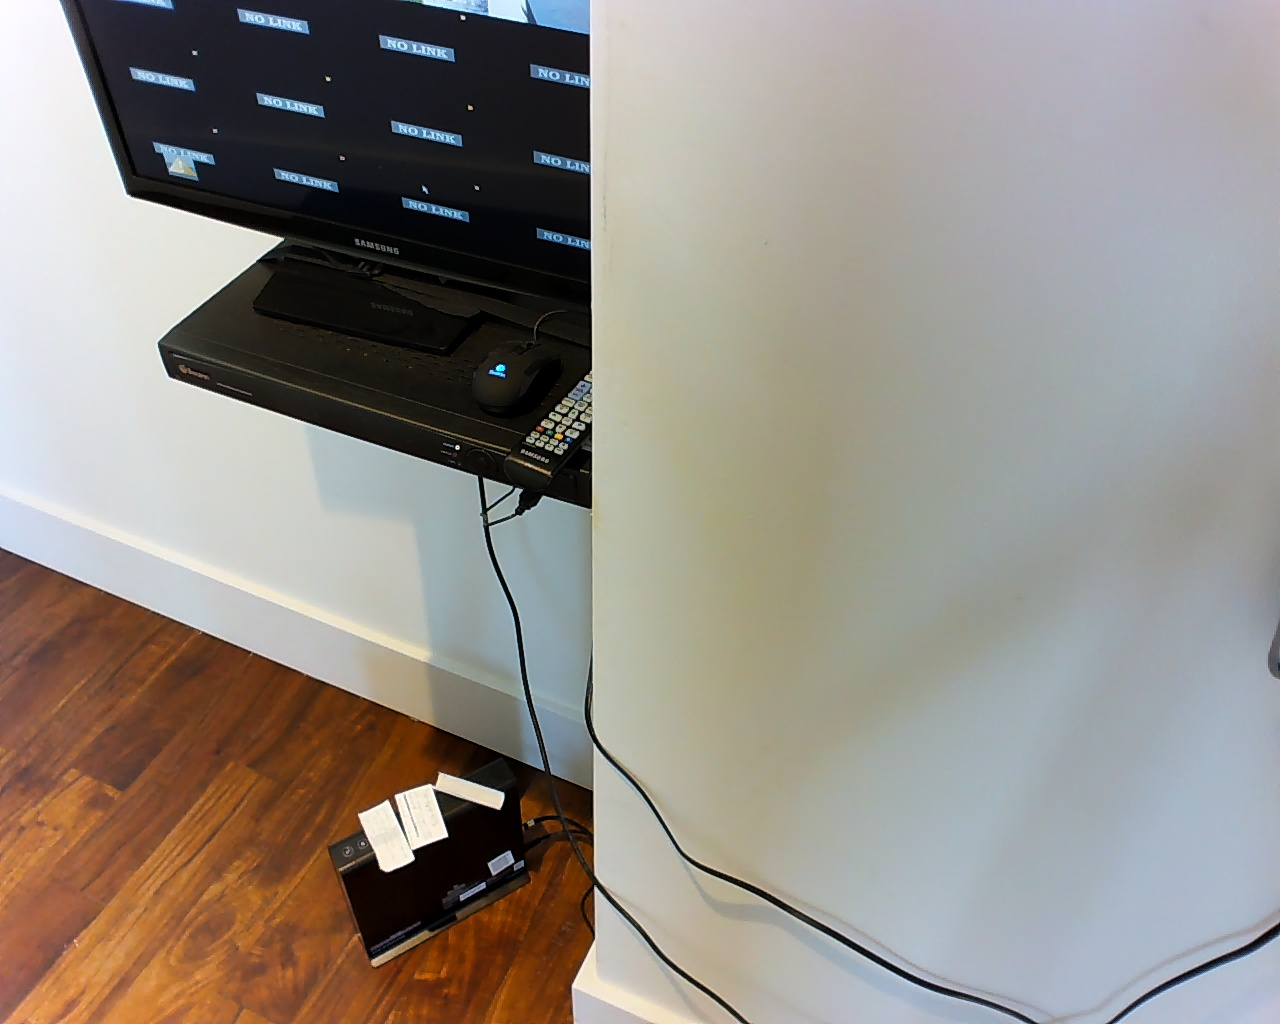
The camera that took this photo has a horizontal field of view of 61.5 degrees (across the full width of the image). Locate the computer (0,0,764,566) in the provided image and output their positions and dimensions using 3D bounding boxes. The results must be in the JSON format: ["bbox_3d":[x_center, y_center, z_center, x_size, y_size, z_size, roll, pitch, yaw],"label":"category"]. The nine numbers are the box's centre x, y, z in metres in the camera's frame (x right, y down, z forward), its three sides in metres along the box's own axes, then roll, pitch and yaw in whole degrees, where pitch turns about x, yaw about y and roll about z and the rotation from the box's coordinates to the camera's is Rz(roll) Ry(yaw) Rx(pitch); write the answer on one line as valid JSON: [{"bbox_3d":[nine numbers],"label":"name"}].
[{"bbox_3d":[-0.190,-0.290,0.960,0.470,0.400,0.390,18,44,17],"label":"computer"}]
